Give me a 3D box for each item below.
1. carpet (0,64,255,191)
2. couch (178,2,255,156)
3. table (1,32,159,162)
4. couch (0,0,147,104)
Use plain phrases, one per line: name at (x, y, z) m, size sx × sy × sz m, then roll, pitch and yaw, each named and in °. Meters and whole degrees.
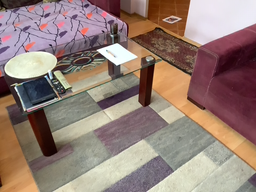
carpet at (-0.060, 0.400, 1.710) m, size 1.400 × 0.090 × 1.800 m, roll -26°, pitch 48°, yaw -27°
couch at (1.200, -0.170, 1.750) m, size 0.990 × 0.750 × 1.040 m, roll -26°, pitch 48°, yaw -27°
table at (-0.380, -0.080, 1.870) m, size 1.060 × 0.480 × 0.700 m, roll -25°, pitch 47°, yaw -26°
couch at (-1.220, -0.800, 2.580) m, size 2.420 × 0.620 × 1.550 m, roll -25°, pitch 47°, yaw -26°
